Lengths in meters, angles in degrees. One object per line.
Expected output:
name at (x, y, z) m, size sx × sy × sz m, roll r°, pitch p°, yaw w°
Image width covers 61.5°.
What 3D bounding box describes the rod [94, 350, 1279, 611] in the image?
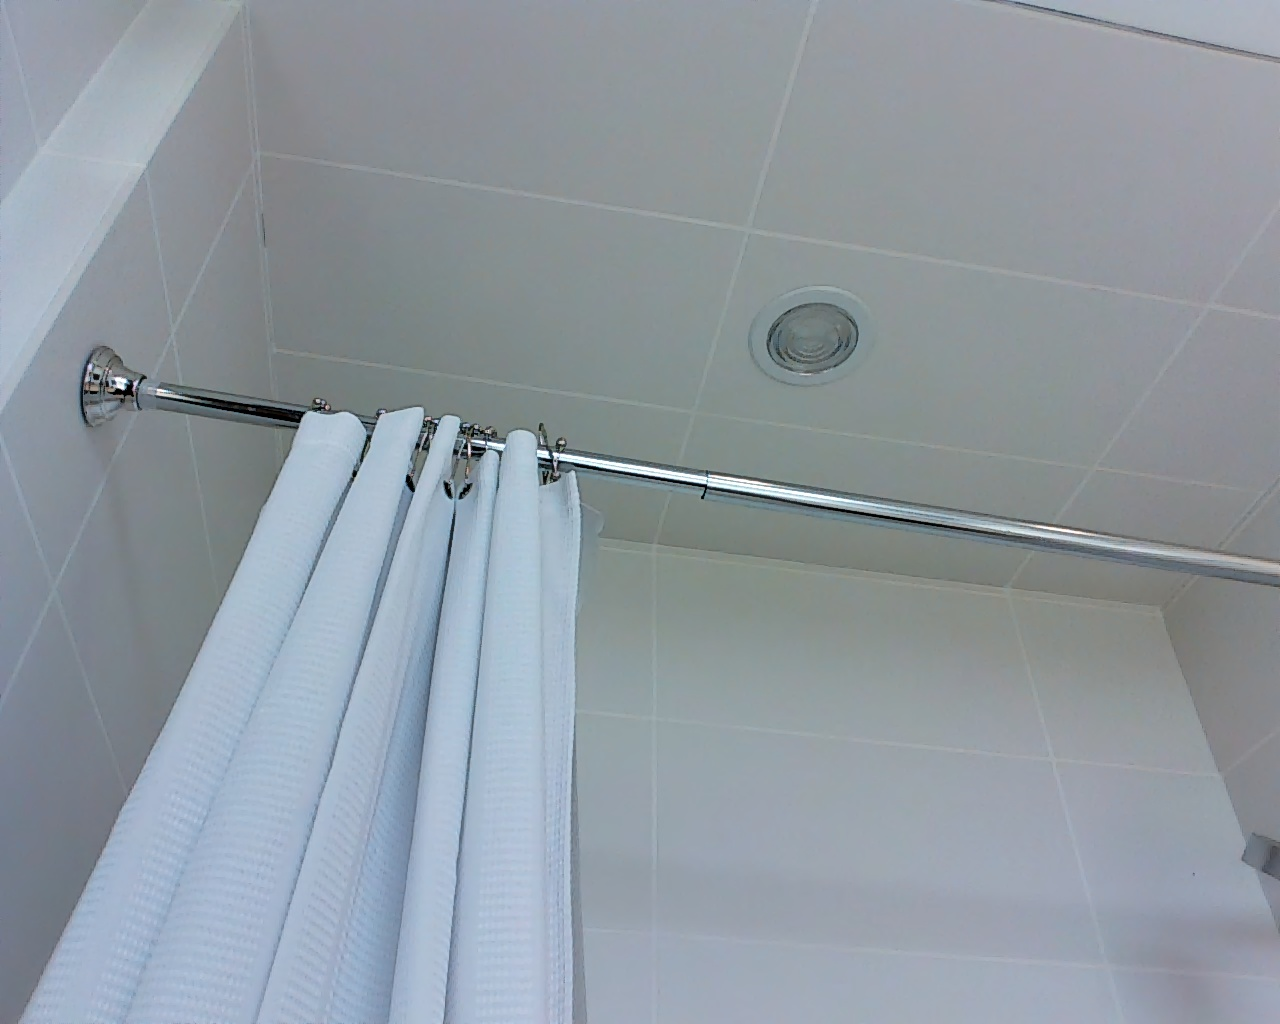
rod at (0.150, -0.010, 0.920) m, size 1.150 × 0.060 × 0.050 m, roll 8°, pitch -42°, yaw -7°
